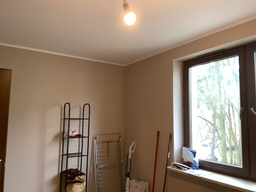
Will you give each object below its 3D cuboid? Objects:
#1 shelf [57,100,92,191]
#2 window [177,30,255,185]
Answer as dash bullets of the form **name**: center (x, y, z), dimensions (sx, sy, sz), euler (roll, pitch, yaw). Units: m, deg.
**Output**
- **shelf**: center (-0.830, 0.940, 3.250), dimensions (0.390, 1.720, 0.300), euler (5, -7, -24)
- **window**: center (1.250, 0.130, 2.480), dimensions (0.270, 1.570, 1.600), euler (5, -7, -31)
